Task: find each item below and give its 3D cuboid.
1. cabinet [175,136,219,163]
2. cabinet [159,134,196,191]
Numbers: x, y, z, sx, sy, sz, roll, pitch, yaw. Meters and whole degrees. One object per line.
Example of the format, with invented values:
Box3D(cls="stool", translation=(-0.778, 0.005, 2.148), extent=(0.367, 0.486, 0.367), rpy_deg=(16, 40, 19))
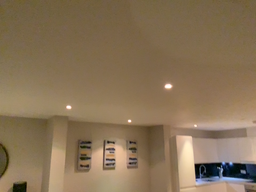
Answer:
Box3D(cls="cabinet", translation=(2.090, 1.610, 6.390), extent=(1.500, 0.720, 0.370), rpy_deg=(10, -18, -33))
Box3D(cls="cabinet", translation=(1.280, 2.120, 5.530), extent=(0.620, 2.140, 0.620), rpy_deg=(10, -18, -33))
